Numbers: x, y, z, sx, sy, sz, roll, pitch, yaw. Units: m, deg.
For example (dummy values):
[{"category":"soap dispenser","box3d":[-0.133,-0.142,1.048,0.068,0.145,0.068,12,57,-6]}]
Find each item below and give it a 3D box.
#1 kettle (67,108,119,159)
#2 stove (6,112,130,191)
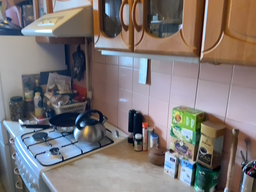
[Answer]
[{"category":"kettle","box3d":[-0.230,0.230,1.400,0.240,0.210,0.240,-13,21,-42]},{"category":"stove","box3d":[-0.400,0.370,1.440,0.620,0.270,0.530,-11,20,-39]}]
